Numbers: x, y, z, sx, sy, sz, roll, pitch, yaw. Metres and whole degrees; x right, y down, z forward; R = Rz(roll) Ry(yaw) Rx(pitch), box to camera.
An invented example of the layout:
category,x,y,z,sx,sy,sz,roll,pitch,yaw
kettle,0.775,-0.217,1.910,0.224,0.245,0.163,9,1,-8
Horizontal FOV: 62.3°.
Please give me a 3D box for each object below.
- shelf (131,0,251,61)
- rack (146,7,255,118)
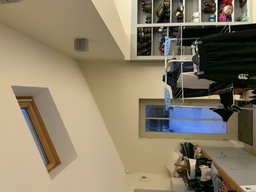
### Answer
category,x,y,z,sx,sy,sz,roll,pitch,yaw
shelf,1.160,-1.370,4.140,0.380,2.180,1.310,-8,-81,-85
rack,1.110,-0.240,2.100,1.040,1.840,0.840,21,-110,-85
